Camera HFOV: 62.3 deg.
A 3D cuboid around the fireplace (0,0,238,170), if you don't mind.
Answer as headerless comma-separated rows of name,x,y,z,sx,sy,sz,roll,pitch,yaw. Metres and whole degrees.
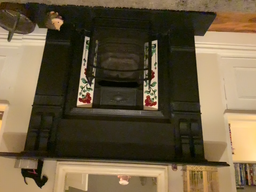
fireplace,-0.090,-0.090,1.890,1.690,1.350,0.540,3,160,-1
